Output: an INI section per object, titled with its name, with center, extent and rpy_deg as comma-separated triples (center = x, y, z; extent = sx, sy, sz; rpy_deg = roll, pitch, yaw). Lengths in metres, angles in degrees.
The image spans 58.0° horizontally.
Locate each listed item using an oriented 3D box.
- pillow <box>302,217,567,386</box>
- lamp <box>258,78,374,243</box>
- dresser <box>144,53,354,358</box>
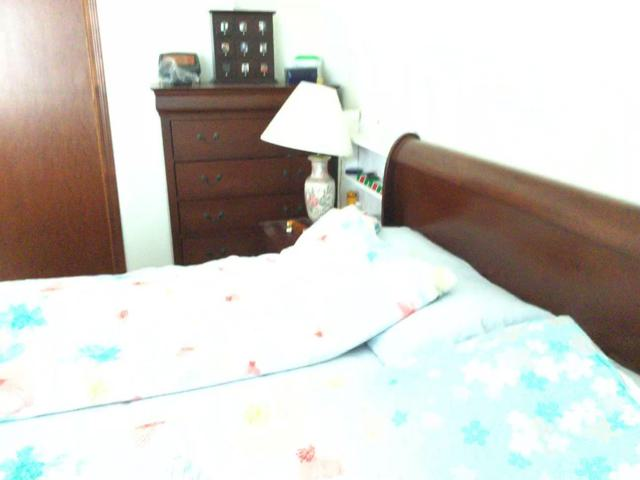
[pillow]
center = 0.260, 0.120, 1.680
extent = 0.420, 0.150, 0.790
rpy_deg = -4, 19, -17
[lamp]
center = -0.030, -0.350, 2.480
extent = 0.420, 0.650, 0.260
rpy_deg = -4, 19, -17
[dresser]
center = -0.370, -0.200, 2.900
extent = 0.890, 1.380, 0.510
rpy_deg = -4, 19, -17
